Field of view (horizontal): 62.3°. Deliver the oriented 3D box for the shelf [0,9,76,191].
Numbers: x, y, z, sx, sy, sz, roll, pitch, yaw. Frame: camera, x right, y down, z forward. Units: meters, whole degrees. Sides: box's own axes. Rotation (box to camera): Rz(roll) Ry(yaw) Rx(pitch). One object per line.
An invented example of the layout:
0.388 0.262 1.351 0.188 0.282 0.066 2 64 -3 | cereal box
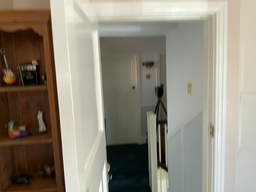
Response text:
-0.650 0.420 1.420 0.500 1.830 0.340 -3 8 -8 | shelf
